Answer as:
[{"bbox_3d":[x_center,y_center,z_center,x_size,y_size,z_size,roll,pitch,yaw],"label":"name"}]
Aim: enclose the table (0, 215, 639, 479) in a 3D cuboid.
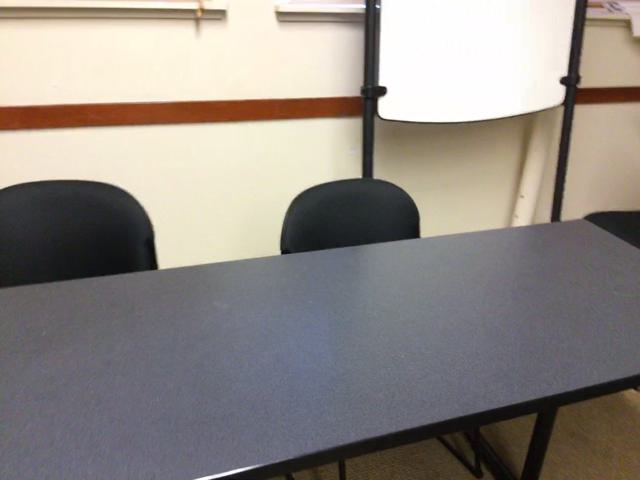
[{"bbox_3d":[-0.060,0.190,1.080,1.790,0.080,0.670,-6,26,-17],"label":"table"}]
